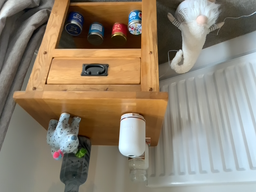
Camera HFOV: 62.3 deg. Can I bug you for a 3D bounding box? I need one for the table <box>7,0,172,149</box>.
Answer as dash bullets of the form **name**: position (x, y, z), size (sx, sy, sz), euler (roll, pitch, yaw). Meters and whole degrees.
- **table**: position (-0.100, -0.110, 1.060), size (0.530, 0.590, 0.570), euler (0, 151, 4)
